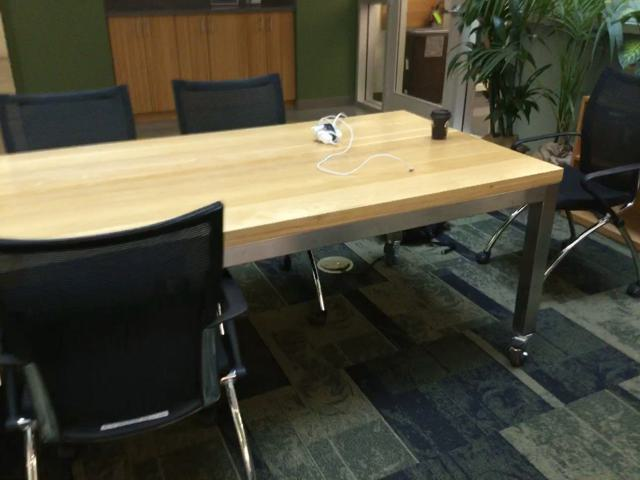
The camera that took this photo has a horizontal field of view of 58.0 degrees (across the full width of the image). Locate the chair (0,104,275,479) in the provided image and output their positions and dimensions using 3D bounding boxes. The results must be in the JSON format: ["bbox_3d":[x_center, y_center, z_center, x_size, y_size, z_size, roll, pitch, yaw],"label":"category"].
[{"bbox_3d":[-0.490,0.220,1.460,0.560,0.950,0.650,-10,27,-21],"label":"chair"}]

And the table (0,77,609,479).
[{"bbox_3d":[-0.540,0.060,1.920,2.520,0.860,1.160,-10,27,-21],"label":"table"}]

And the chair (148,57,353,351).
[{"bbox_3d":[-0.290,-0.190,2.290,0.570,0.920,0.670,-9,27,-21],"label":"chair"}]

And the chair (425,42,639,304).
[{"bbox_3d":[0.990,-0.330,2.610,0.780,1.000,0.520,-7,26,-17],"label":"chair"}]
